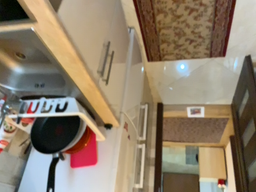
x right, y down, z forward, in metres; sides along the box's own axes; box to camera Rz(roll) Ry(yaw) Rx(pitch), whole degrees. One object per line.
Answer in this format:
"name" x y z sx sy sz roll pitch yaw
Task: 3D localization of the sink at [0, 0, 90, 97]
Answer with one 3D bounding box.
"sink" -0.470 -0.170 0.930 0.460 0.160 0.400 -2 149 15
